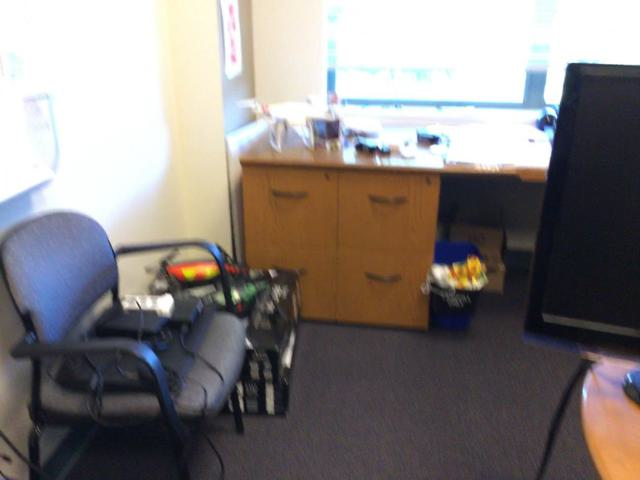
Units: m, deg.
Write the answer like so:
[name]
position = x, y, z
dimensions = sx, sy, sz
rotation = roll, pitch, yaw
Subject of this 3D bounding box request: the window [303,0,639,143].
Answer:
[window]
position = 1.110, -1.120, 2.470
dimensions = 2.360, 1.360, 0.230
rotation = 2, 22, 6
